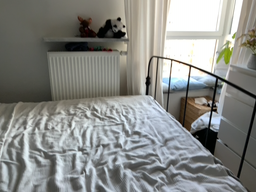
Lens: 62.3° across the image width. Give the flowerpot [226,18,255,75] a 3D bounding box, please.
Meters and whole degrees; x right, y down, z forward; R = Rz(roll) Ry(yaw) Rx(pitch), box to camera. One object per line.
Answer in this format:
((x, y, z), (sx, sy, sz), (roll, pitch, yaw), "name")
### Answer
((0.980, -0.390, 1.640), (0.240, 0.390, 0.250), (-6, 21, -20), "flowerpot")
